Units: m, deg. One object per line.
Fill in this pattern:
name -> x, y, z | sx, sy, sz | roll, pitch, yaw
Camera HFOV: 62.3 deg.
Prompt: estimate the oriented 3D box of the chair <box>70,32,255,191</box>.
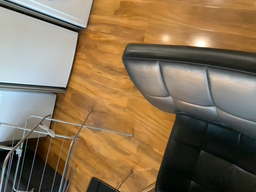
chair -> 0.320, 0.210, 0.820 | 0.430, 0.960, 0.620 | 17, 98, 35
